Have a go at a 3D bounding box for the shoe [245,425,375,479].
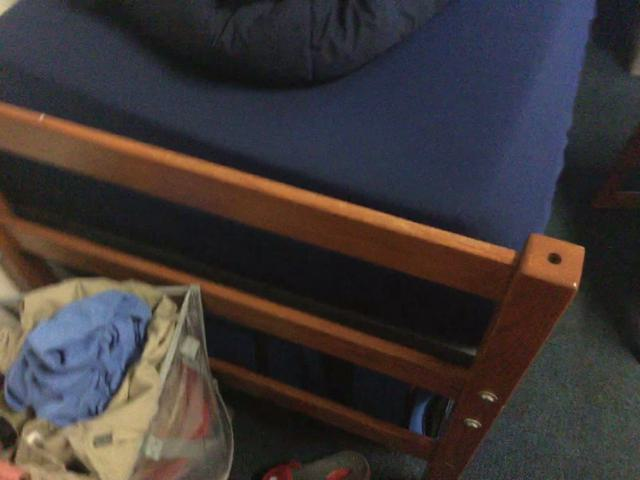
[{"bbox_3d":[-0.020,0.500,1.250,0.260,0.100,0.120,-10,52,-2],"label":"shoe"}]
